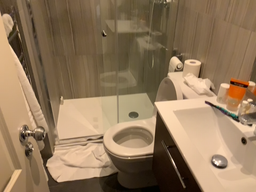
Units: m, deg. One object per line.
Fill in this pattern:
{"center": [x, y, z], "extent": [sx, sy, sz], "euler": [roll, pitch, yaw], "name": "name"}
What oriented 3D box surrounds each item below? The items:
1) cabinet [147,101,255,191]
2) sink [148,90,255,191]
{"center": [0.380, 0.410, 0.970], "extent": [0.380, 0.460, 0.670], "euler": [-6, 32, -11], "name": "cabinet"}
{"center": [0.370, 0.220, 0.860], "extent": [0.390, 0.150, 0.670], "euler": [-6, 32, -11], "name": "sink"}
